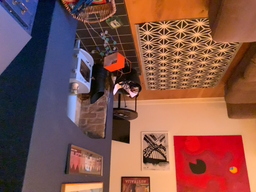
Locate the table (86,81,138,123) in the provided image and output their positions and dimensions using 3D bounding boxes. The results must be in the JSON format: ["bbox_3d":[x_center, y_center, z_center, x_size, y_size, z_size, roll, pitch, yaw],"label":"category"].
[{"bbox_3d":[-0.250,0.150,3.940,0.780,0.530,0.790,-3,160,10],"label":"table"}]

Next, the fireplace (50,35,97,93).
[{"bbox_3d":[-0.610,-0.360,2.490,0.350,0.510,0.420,-2,160,8],"label":"fireplace"}]
